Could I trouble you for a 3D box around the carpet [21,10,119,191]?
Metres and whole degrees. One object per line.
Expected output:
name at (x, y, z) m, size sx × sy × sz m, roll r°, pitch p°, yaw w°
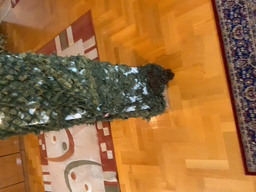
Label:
carpet at (-0.830, 0.340, 2.610) m, size 1.660 × 0.040 × 2.150 m, roll -15°, pitch 83°, yaw 41°
